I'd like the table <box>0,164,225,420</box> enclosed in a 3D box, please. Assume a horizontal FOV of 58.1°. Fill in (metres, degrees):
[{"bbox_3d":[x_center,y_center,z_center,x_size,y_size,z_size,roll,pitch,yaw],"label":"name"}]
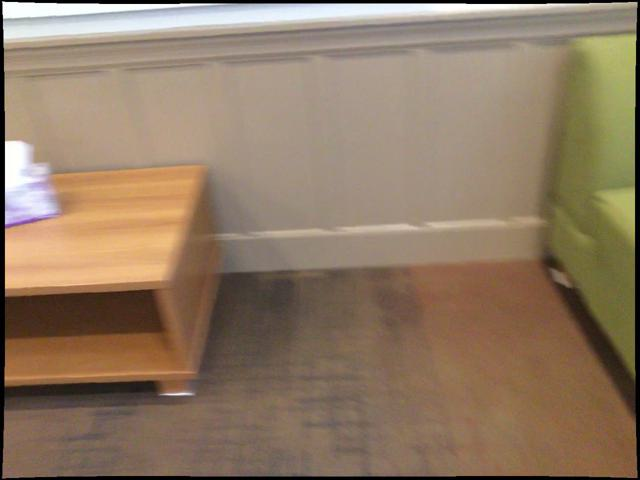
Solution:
[{"bbox_3d":[-0.918,0.150,1.780,1.107,0.451,0.630,-4,34,1],"label":"table"}]
